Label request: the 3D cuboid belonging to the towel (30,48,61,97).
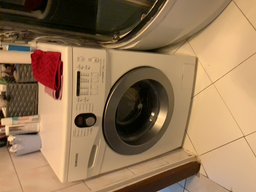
[{"bbox_3d":[-0.370,-0.110,0.930,0.240,0.060,0.180,19,108,51],"label":"towel"}]
